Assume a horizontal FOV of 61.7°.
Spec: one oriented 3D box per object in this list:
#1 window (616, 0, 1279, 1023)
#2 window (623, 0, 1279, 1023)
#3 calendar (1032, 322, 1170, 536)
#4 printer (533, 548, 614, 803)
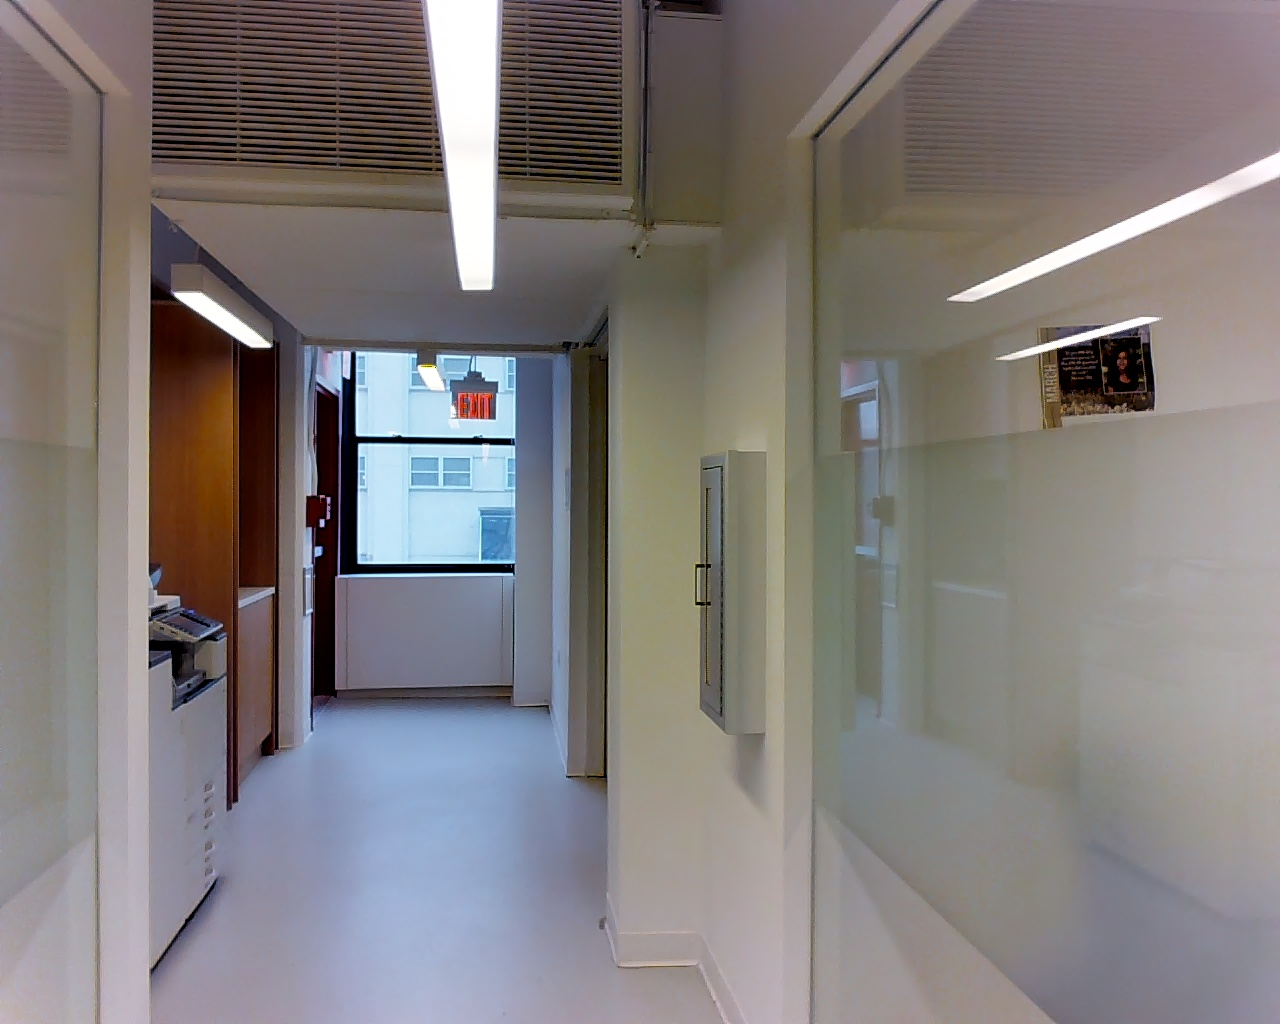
[{"bbox_3d":[0.350,-0.030,2.270,0.170,2.941,4.810,0,0,-9],"label":"window"},{"bbox_3d":[0.420,0.260,2.100,0.290,2.040,4.520,0,0,-9],"label":"window"},{"bbox_3d":[1.080,-0.190,2.510,0.310,0.490,0.060,0,0,-10],"label":"calendar"},{"bbox_3d":[-0.380,0.820,5.800,0.330,1.200,1.100,0,0,-9],"label":"printer"}]
